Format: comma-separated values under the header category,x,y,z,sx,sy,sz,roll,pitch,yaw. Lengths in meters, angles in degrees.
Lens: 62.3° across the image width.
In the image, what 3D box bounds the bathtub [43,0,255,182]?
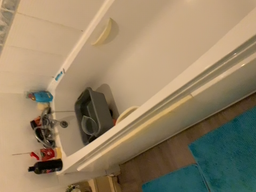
category,x,y,z,sx,sy,sz,roll,pitch,yaw
bathtub,0.100,-0.110,1.300,1.630,0.560,0.720,-40,59,38
